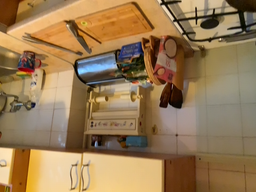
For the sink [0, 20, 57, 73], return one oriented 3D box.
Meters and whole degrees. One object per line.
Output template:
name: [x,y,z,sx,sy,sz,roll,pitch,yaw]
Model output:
sink: [-0.810,-0.310,1.400,0.400,0.140,0.490,-4,166,31]
